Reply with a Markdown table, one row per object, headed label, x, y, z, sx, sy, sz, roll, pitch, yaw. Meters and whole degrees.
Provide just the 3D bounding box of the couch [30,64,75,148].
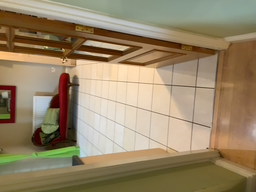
| label | x | y | z | sx | sy | sz | roll | pitch | yaw |
| --- | --- | --- | --- | --- | --- | --- | --- | --- | --- |
| couch | -1.780 | 0.200 | 4.960 | 0.710 | 0.820 | 1.770 | 6 | 94 | 60 |
